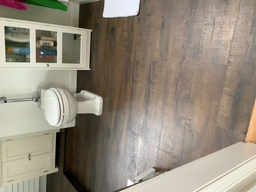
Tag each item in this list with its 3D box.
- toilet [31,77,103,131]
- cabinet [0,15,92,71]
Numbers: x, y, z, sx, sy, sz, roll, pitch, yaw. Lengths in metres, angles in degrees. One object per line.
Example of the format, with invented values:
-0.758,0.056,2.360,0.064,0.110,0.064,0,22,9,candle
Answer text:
-0.670,0.040,2.240,0.670,0.480,0.350,23,110,47,toilet
-0.920,-0.490,2.030,0.320,1.080,0.430,21,109,47,cabinet
